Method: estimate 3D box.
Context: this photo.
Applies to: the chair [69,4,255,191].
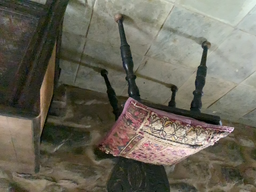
[{"bbox_3d":[0.070,0.200,0.900,0.490,0.920,0.560,14,144,-17],"label":"chair"}]
